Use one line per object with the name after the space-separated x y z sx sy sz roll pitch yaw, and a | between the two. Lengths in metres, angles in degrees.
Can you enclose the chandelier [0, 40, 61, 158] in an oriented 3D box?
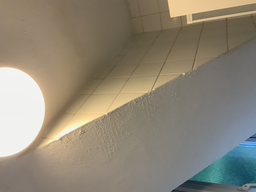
-0.380 0.020 0.670 0.320 0.090 0.330 27 65 -63 | chandelier
